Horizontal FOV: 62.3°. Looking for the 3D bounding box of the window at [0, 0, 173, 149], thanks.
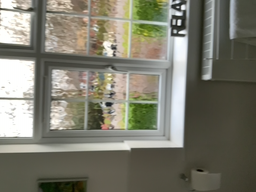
[{"bbox_3d":[-0.330,-0.400,1.520,0.050,1.340,1.530,-169,81,-77],"label":"window"}]
